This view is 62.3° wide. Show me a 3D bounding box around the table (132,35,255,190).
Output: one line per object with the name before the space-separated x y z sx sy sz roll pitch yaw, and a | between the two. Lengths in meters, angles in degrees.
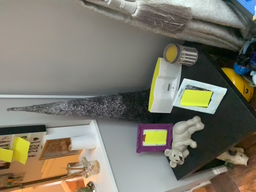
table | 0.460 0.100 1.270 0.600 0.470 0.590 -57 46 40
